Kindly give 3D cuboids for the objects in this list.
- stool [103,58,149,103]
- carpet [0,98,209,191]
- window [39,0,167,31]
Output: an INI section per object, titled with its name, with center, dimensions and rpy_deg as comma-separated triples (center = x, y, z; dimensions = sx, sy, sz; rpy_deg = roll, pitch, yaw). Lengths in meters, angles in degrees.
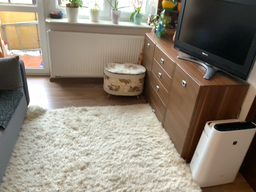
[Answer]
[stool]
center = -0.060, -0.210, 2.870
dimensions = 0.530, 0.430, 0.460
rpy_deg = 1, 30, -9
[carpet]
center = -0.200, 0.690, 1.670
dimensions = 1.600, 0.070, 2.380
rpy_deg = -2, 31, -14
[window]
center = -0.250, -1.650, 2.580
dimensions = 1.630, 1.570, 0.200
rpy_deg = -1, 31, -12
